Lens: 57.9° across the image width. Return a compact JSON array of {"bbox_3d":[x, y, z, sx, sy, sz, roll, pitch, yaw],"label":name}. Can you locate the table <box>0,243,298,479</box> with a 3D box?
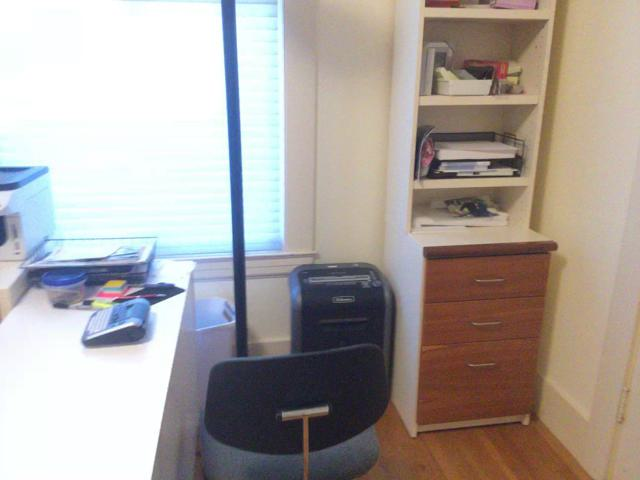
[{"bbox_3d":[-0.520,0.540,1.410,0.700,0.690,1.210,-1,20,-14],"label":"table"}]

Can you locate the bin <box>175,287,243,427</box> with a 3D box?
[{"bbox_3d":[-0.430,0.430,2.190,0.220,0.410,0.300,-1,20,-16],"label":"bin"}]

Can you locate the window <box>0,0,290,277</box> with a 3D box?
[{"bbox_3d":[-0.630,-0.690,1.880,1.050,1.670,0.120,-1,20,-16],"label":"window"}]
